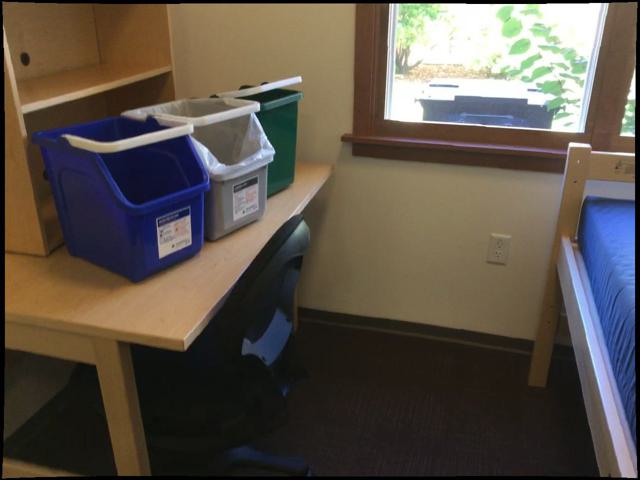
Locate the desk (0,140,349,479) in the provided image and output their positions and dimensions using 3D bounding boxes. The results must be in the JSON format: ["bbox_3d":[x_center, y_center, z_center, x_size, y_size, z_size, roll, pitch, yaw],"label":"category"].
[{"bbox_3d":[-0.499,0.251,1.980,0.858,0.772,1.340,8,27,15],"label":"desk"}]
